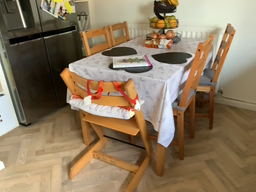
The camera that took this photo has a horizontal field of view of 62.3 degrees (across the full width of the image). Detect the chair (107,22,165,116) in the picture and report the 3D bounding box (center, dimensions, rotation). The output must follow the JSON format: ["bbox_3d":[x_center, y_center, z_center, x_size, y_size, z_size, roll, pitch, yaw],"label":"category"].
[{"bbox_3d":[0.090,-0.300,2.260,0.470,0.880,0.330,12,30,26],"label":"chair"}]

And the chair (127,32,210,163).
[{"bbox_3d":[0.290,0.000,1.640,0.470,0.880,0.320,14,30,28],"label":"chair"}]

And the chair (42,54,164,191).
[{"bbox_3d":[-0.120,0.180,1.440,0.510,0.760,0.530,14,30,28],"label":"chair"}]
